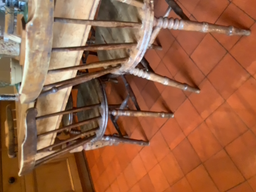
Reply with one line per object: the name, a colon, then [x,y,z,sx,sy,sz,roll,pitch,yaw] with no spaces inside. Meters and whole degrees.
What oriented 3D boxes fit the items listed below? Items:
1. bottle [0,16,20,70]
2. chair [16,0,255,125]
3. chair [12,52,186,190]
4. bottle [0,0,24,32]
bottle: [-0.630,-0.260,1.020,0.160,0.170,0.200,-56,46,41]
chair: [0.030,-0.240,0.850,0.460,0.790,0.460,-58,45,39]
chair: [-0.190,0.120,1.210,0.460,0.780,0.460,-58,45,39]
bottle: [-0.530,-0.410,0.960,0.160,0.080,0.160,-55,47,42]
